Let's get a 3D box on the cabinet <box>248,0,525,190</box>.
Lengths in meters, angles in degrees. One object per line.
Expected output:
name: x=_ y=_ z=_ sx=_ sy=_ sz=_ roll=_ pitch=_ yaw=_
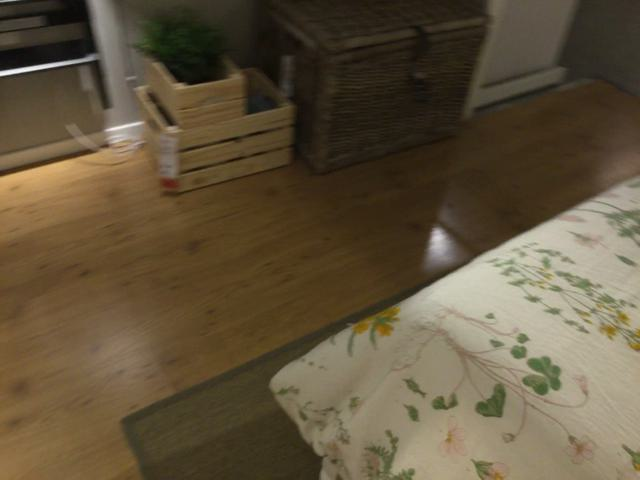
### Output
cabinet: x=0.230 y=-0.670 z=2.230 sx=0.830 sy=0.520 sz=0.540 roll=-22 pitch=47 yaw=-25
